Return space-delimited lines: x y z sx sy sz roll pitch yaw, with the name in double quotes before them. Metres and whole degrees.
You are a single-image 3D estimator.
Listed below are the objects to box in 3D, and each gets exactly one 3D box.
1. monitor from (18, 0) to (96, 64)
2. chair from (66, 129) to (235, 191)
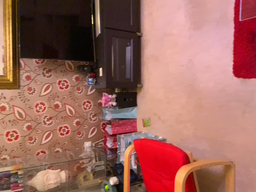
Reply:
"monitor" -0.700 -1.000 2.130 0.070 0.730 1.310 -4 88 61
"chair" 0.130 0.750 1.510 0.730 0.940 0.820 2 93 60
